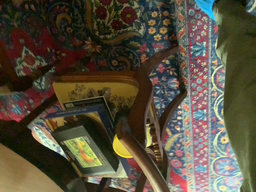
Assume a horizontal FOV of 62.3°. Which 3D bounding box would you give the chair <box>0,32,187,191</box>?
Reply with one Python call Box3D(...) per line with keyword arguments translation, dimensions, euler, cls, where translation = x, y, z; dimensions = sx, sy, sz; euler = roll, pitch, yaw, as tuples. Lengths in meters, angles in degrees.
Box3D(translation=(-0.050, 0.100, 0.940), dimensions=(0.540, 0.900, 0.460), euler=(-6, 117, 19), cls="chair")
